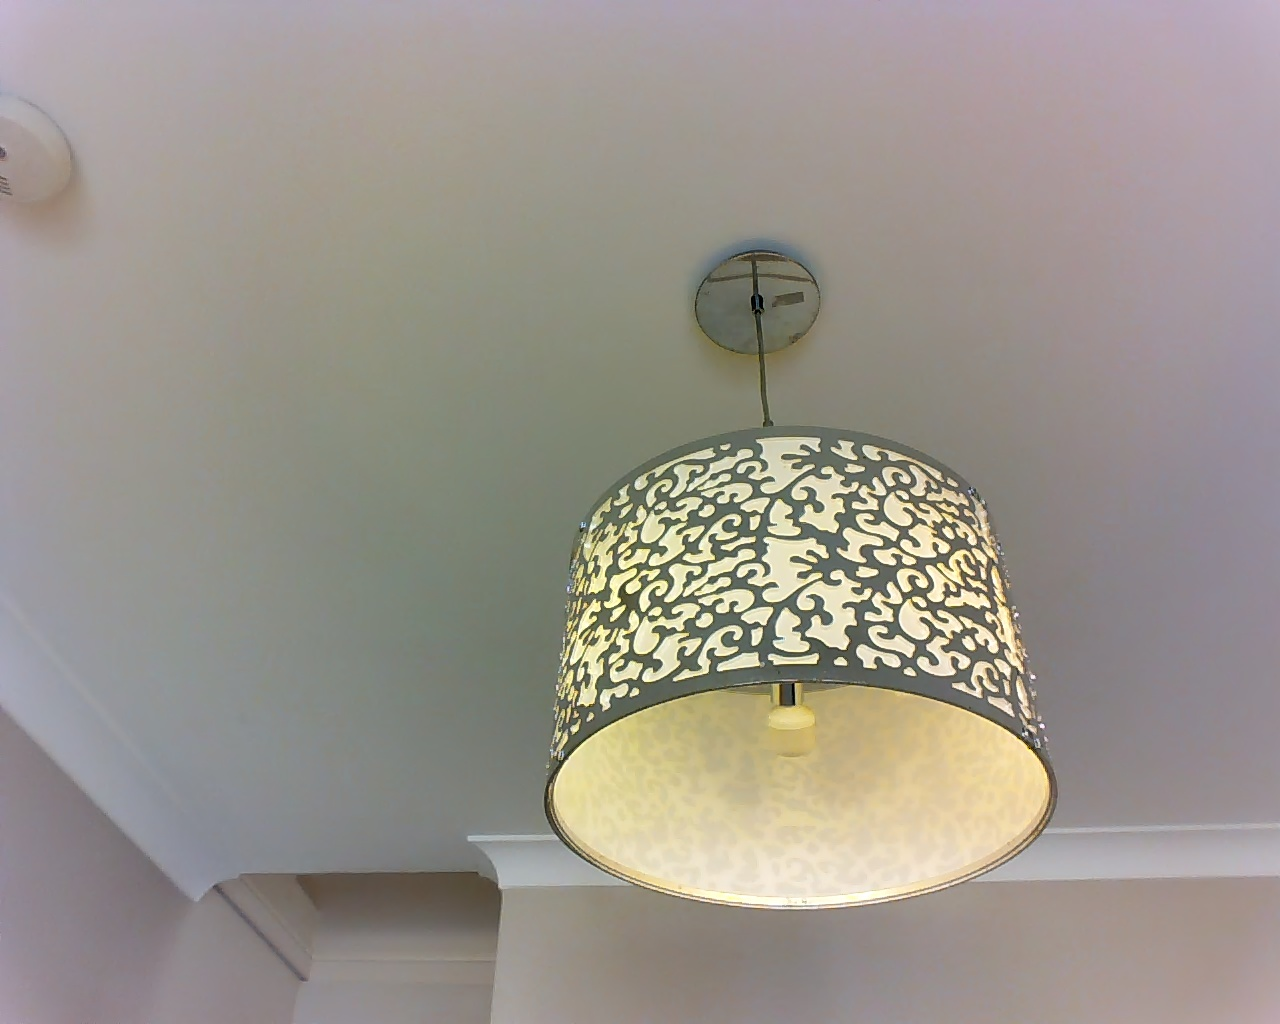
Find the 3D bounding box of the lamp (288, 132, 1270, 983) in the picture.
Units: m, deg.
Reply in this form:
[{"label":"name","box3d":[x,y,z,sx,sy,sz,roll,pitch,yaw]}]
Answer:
[{"label":"lamp","box3d":[0.150,0.020,1.090,0.700,0.490,0.500,16,53,18]}]
